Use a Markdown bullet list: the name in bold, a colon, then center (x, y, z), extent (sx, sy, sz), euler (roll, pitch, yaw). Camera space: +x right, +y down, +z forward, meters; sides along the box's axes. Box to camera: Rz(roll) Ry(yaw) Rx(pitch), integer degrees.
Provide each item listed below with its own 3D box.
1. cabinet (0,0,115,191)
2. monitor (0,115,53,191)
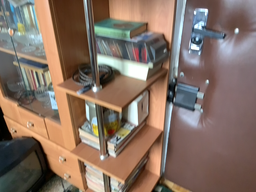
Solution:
- **cabinet**: center (-0.490, -0.360, 1.080), extent (0.710, 1.890, 0.390), euler (19, 35, 27)
- **monitor**: center (-0.780, 0.420, 1.270), extent (0.420, 0.350, 0.390), euler (19, 35, 27)
